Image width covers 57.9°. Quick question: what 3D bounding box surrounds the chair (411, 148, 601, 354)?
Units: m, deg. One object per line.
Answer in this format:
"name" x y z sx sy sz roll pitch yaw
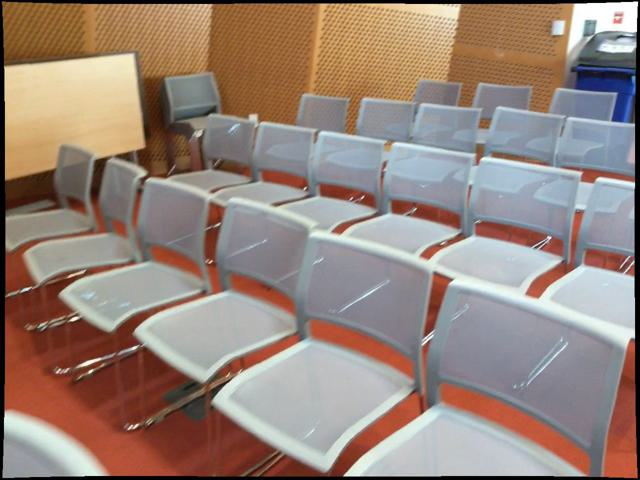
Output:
"chair" 0.789 0.000 2.490 0.550 0.651 0.570 15 25 38

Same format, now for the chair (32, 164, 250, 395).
"chair" -0.699 0.110 2.350 0.550 0.681 0.560 15 25 38

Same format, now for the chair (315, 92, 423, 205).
"chair" 0.350 -0.671 4.100 0.530 0.671 0.530 15 25 38

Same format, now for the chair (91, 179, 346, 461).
"chair" -0.340 0.220 2.100 0.630 0.701 0.590 15 25 38

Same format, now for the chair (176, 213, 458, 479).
"chair" 0.010 0.380 1.760 0.550 0.721 0.590 15 25 38

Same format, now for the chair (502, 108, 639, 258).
"chair" 1.479 -0.360 3.280 0.620 0.671 0.580 15 25 38

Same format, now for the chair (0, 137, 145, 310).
"chair" -1.299 -0.120 2.920 0.540 0.671 0.540 -18 25 -39

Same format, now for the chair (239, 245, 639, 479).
"chair" 0.290 0.480 1.470 0.720 0.661 0.610 15 25 38

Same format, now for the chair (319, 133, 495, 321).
"chair" 0.420 -0.110 2.810 0.590 0.691 0.590 15 25 38

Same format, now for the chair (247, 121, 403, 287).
"chair" 0.040 -0.230 3.100 0.560 0.691 0.590 15 25 38

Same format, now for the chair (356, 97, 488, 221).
"chair" 0.669 -0.571 3.850 0.630 0.671 0.580 15 25 38

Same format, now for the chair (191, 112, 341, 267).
"chair" -0.300 -0.330 3.360 0.650 0.721 0.530 15 25 38

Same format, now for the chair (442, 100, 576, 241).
"chair" 1.159 -0.460 3.570 0.540 0.711 0.590 15 25 38

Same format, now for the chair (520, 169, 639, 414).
"chair" 1.159 0.160 2.200 0.510 0.701 0.580 15 25 38

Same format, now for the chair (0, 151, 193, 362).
"chair" -1.019 0.030 2.650 0.620 0.731 0.510 -17 24 -36
